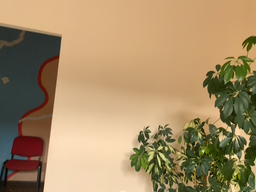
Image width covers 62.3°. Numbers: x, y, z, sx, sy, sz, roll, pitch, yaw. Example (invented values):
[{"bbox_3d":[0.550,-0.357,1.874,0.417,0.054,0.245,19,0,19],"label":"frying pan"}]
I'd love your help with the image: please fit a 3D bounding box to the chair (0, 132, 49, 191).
[{"bbox_3d":[-1.700,1.080,3.510,0.610,0.880,0.390,7,-2,-18],"label":"chair"}]
